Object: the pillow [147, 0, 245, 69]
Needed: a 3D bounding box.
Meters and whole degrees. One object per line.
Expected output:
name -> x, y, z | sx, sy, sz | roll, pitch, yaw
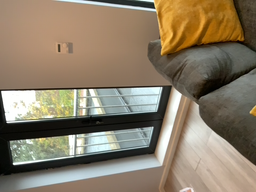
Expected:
pillow -> 0.420, -0.550, 1.330 | 0.190, 0.500, 0.580 | -23, 99, 55
